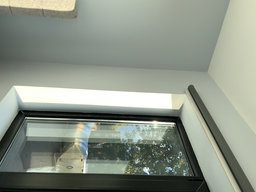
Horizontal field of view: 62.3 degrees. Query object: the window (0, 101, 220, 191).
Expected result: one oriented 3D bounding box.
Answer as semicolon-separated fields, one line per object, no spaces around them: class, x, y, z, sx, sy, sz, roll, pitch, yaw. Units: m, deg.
window;-0.160;0.830;0.790;2.430;1.380;0.180;-94;-171;-56
